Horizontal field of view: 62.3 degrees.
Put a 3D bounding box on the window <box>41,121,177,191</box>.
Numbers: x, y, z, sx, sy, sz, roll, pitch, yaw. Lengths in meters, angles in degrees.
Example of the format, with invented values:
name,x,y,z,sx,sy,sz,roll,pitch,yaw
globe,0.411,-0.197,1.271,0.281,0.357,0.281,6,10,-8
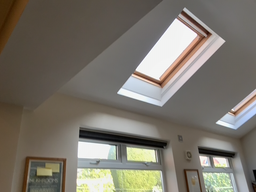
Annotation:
name,x,y,z,sx,sy,sz,roll,pitch,yaw
window,-0.080,1.080,2.380,1.710,1.330,0.210,16,-30,-37
